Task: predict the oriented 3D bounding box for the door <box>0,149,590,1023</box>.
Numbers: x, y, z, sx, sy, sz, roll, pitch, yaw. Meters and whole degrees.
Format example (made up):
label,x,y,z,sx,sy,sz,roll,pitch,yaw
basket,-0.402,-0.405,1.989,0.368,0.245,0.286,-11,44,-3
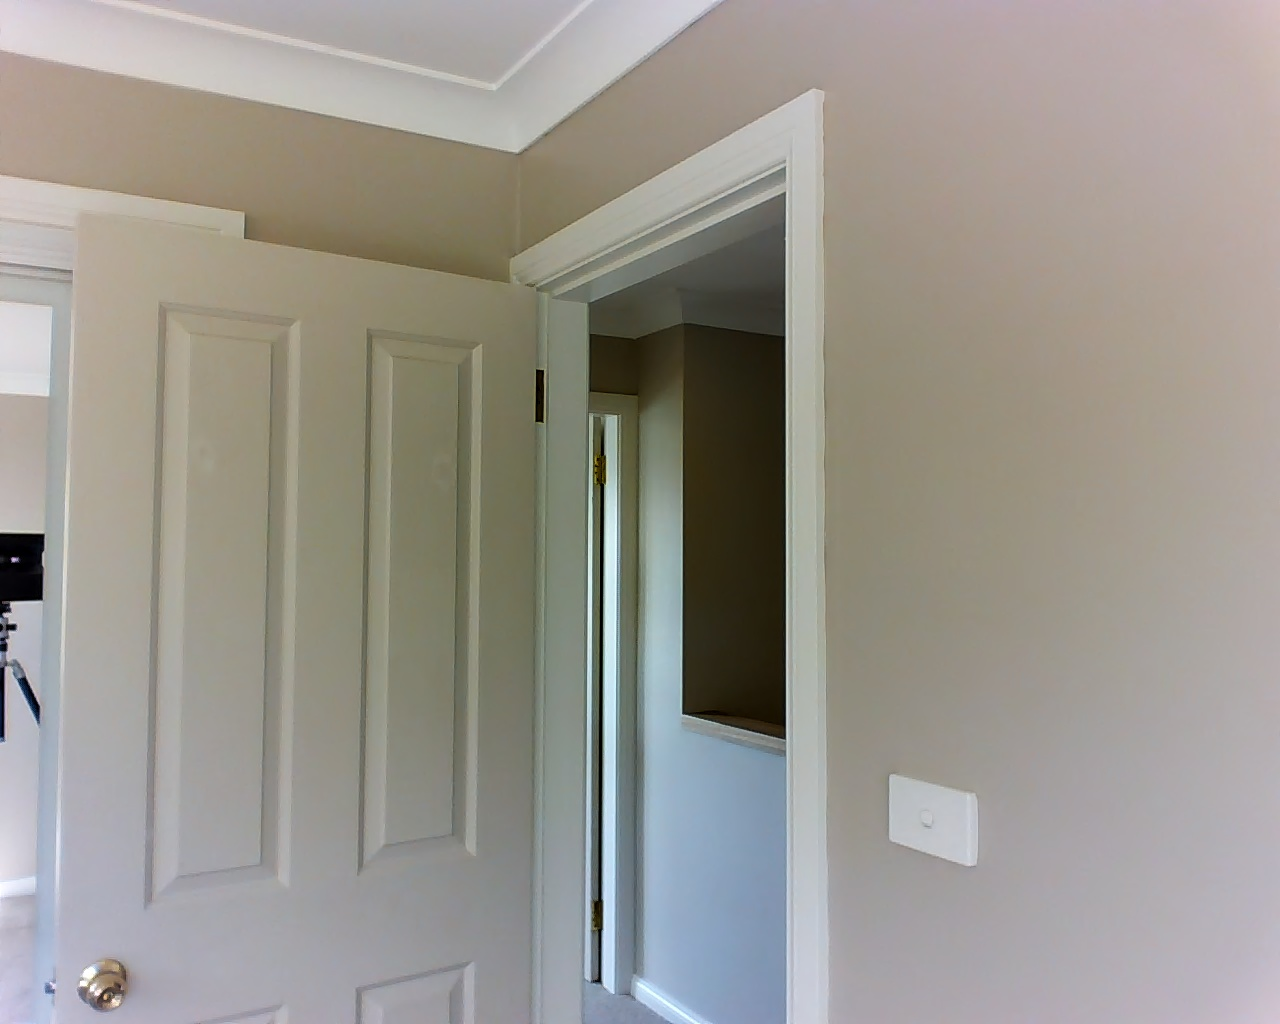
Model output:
label,x,y,z,sx,sy,sz,roll,pitch,yaw
door,-0.560,0.550,1.780,0.910,2.061,0.310,1,-3,-31
